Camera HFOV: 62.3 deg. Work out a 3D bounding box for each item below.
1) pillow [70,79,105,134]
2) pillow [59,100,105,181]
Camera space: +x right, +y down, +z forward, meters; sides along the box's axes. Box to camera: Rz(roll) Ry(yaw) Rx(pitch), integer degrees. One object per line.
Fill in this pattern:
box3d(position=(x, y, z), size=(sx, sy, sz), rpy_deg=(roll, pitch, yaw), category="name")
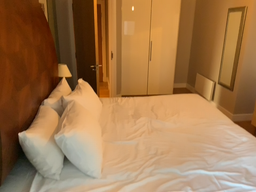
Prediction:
box3d(position=(-0.400, 0.080, 2.200), size=(0.200, 0.360, 0.570), rpy_deg=(-18, 17, -2), category="pillow")
box3d(position=(-0.320, 0.300, 1.640), size=(0.190, 0.340, 0.580), rpy_deg=(-16, 18, 0), category="pillow")
